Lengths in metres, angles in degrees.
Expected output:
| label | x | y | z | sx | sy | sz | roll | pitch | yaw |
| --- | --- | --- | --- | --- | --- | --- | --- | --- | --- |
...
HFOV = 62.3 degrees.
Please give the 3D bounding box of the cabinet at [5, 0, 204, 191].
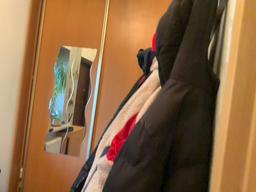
| label | x | y | z | sx | sy | sz | roll | pitch | yaw |
| --- | --- | --- | --- | --- | --- | --- | --- | --- | --- |
| cabinet | -0.270 | 0.220 | 2.270 | 1.700 | 2.480 | 0.580 | 8 | 1 | 13 |
